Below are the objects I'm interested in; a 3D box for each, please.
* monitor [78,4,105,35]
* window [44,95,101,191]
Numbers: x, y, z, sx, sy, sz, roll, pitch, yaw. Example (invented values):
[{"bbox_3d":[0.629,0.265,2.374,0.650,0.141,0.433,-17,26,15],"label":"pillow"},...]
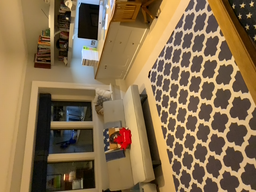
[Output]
[{"bbox_3d":[-0.710,-1.470,4.080,0.030,0.470,0.500,-130,46,-63],"label":"monitor"},{"bbox_3d":[-1.150,1.210,4.400,0.130,1.040,2.750,120,146,-54],"label":"window"}]
